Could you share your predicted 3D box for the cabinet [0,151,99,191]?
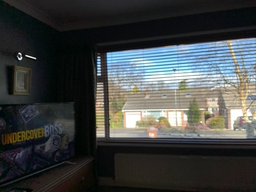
[{"bbox_3d":[-0.930,1.070,2.380,0.610,0.490,1.490,-2,0,17],"label":"cabinet"}]
